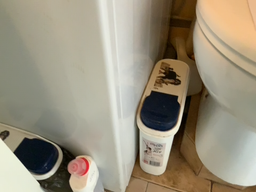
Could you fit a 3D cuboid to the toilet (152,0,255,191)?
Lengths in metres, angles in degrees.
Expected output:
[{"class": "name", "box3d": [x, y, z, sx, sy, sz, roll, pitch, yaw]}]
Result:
[{"class": "toilet", "box3d": [0.350, -0.140, 0.500, 0.390, 0.860, 0.690, 13, 48, 13]}]
